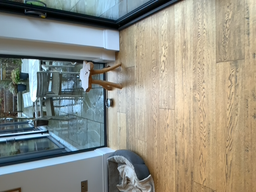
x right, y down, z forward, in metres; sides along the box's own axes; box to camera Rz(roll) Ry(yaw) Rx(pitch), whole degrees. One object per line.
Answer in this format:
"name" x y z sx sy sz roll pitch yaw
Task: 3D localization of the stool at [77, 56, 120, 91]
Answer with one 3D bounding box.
"stool" -0.400 -0.280 2.860 0.400 0.440 0.410 0 91 57
